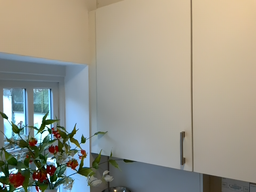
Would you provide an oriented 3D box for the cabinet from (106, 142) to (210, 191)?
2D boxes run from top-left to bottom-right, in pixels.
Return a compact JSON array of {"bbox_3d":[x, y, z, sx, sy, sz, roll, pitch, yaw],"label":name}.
[{"bbox_3d":[0.180,0.610,1.430,0.670,0.490,0.200,0,2,33],"label":"cabinet"}]
